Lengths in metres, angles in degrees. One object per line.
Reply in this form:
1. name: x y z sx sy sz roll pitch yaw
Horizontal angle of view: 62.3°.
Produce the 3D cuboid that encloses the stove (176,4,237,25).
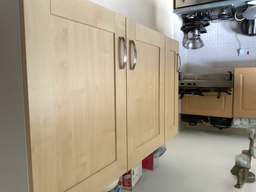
1. stove: 0.950 -0.950 2.530 0.600 0.030 0.540 3 -173 31
